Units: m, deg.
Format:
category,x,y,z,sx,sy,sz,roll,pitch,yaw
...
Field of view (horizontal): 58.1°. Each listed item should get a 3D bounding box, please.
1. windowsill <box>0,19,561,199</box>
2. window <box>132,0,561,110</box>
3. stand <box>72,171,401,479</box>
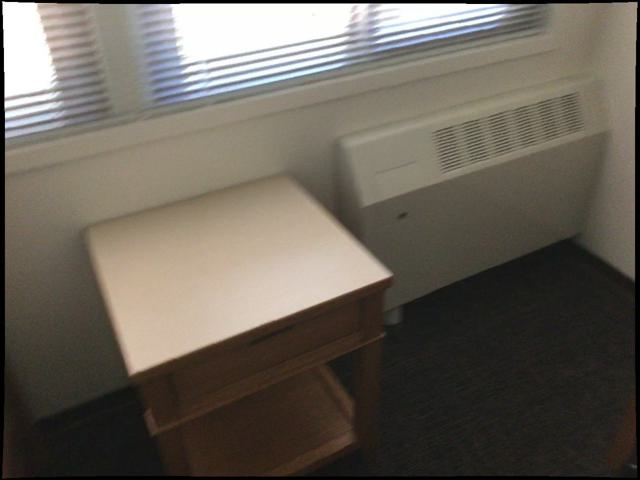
category,x,y,z,sx,sy,sz,roll,pitch,yaw
windowsill,-0.060,-0.361,1.460,1.687,0.140,0.080,-17,38,-21
window,0.120,-0.662,1.500,1.148,0.351,0.260,-17,38,-21
stand,-0.199,0.271,1.420,0.569,0.601,0.520,-17,38,-21
